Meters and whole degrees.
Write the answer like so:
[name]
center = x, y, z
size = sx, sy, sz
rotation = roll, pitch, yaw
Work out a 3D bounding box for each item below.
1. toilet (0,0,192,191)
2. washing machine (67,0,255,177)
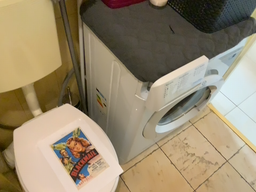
[toilet]
center = -0.280, 0.140, 0.830
size = 0.380, 0.970, 0.620
rotation = -28, 63, -26
[washing machine]
center = 0.110, -0.080, 1.140
size = 0.600, 0.830, 0.530
rotation = -28, 63, -26
